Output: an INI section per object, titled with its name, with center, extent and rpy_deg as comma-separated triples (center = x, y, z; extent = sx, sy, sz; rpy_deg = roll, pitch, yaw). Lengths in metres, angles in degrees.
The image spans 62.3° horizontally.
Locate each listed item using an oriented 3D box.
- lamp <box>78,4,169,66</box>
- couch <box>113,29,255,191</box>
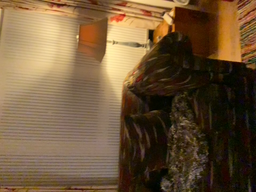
[lamp]
center = -0.060, -0.610, 2.260
extent = 0.410, 0.880, 0.390
rpy_deg = 157, 117, -73
[couch]
center = 0.370, 0.910, 1.780
extent = 1.190, 0.770, 2.450
rpy_deg = 151, 122, -73
